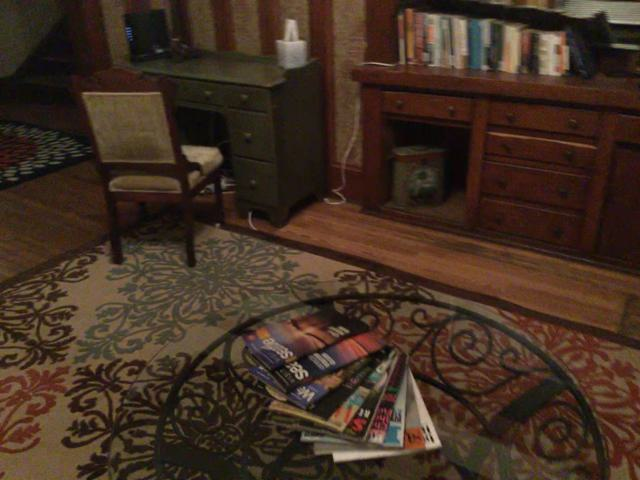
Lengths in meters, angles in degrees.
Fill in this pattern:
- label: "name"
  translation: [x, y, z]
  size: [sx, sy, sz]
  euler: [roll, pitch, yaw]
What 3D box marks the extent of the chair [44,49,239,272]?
- label: "chair"
  translation: [-0.770, -0.390, 2.710]
  size: [0.560, 0.890, 0.550]
  euler: [4, 27, 10]
